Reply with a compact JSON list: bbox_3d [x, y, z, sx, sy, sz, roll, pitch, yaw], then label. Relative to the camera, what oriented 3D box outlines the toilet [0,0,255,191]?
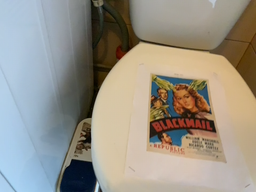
[{"bbox_3d":[0.120,0.040,0.610,0.390,0.860,0.690,10,46,0],"label":"toilet"}]
